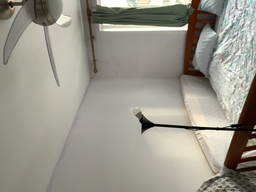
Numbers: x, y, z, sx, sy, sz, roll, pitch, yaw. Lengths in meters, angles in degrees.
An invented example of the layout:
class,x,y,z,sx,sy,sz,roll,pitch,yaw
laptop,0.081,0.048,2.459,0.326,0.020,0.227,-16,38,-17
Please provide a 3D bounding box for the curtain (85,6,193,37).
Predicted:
class,x,y,z,sx,sy,sz,roll,pitch,yaw
curtain,0.150,-1.100,3.130,0.180,1.490,0.390,-85,-5,-57
